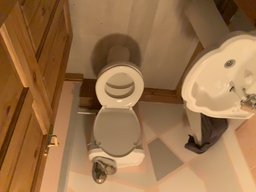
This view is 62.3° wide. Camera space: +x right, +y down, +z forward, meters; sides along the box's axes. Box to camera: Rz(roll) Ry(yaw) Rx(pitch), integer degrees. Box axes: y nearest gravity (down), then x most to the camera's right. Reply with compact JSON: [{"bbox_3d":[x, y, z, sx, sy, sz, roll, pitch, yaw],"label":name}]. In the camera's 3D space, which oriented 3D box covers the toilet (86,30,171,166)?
[{"bbox_3d":[-0.060,0.030,1.700,0.470,0.800,0.690,4,139,-9],"label":"toilet"}]
